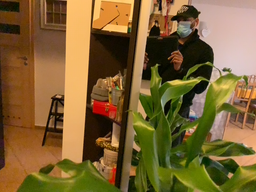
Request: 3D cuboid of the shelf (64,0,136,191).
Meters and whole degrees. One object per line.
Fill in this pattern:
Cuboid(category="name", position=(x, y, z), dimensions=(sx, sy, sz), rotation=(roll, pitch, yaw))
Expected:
Cuboid(category="shelf", position=(-0.160, -0.090, 1.270), dimensions=(0.290, 2.520, 0.320), rotation=(7, 15, 2))
